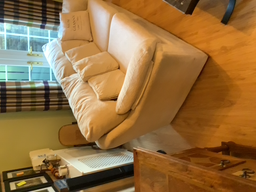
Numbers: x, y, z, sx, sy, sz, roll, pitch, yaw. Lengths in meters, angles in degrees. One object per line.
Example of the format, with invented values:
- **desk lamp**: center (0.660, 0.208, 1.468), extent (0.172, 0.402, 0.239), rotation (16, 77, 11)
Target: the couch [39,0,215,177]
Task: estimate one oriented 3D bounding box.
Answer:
- **couch**: center (-0.320, -0.400, 2.430), extent (2.100, 0.860, 1.130), rotation (51, 131, 43)
